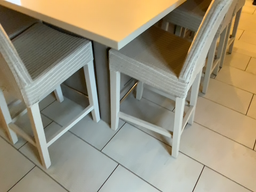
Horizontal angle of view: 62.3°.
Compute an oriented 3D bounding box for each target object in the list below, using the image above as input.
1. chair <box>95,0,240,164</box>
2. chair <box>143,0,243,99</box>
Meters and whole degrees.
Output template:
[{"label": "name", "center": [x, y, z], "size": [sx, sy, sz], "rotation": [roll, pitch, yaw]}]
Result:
[{"label": "chair", "center": [0.180, -0.160, 1.200], "size": [0.490, 0.970, 0.450], "rotation": [27, 49, 24]}, {"label": "chair", "center": [0.490, -0.560, 1.630], "size": [0.520, 0.980, 0.430], "rotation": [27, 49, 24]}]
